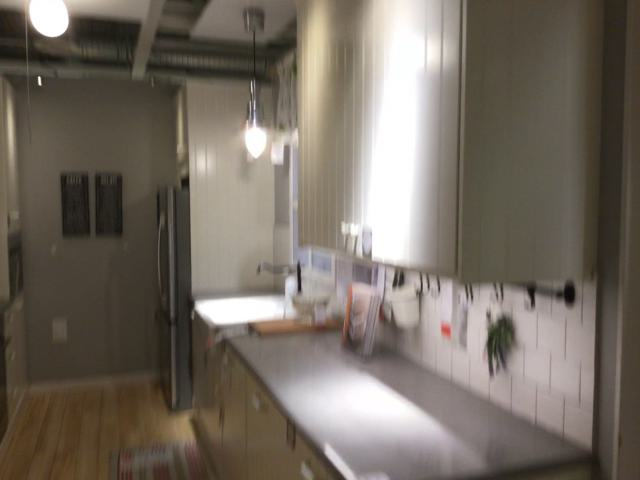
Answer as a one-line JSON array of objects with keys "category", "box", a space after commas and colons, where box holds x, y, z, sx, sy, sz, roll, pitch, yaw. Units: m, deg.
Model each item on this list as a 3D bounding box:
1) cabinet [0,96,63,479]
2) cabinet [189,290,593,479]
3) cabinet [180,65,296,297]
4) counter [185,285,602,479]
[{"category": "cabinet", "box": [-2.140, 0.290, 3.440, 0.680, 2.220, 2.110, -5, 5, -17]}, {"category": "cabinet", "box": [-0.100, 0.910, 2.740, 0.720, 0.870, 2.980, -5, 5, -17]}, {"category": "cabinet", "box": [-0.660, -0.440, 4.450, 0.640, 1.570, 0.890, -5, 5, -17]}, {"category": "counter", "box": [-0.130, 0.490, 2.700, 0.760, 0.090, 2.990, -5, 5, -17]}]
